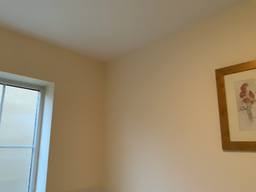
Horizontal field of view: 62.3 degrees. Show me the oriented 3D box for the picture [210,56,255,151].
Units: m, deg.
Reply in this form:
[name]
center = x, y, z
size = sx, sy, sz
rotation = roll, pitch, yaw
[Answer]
[picture]
center = 0.560, 0.040, 1.040
size = 0.020, 0.440, 0.290
rotation = 12, -17, -40
